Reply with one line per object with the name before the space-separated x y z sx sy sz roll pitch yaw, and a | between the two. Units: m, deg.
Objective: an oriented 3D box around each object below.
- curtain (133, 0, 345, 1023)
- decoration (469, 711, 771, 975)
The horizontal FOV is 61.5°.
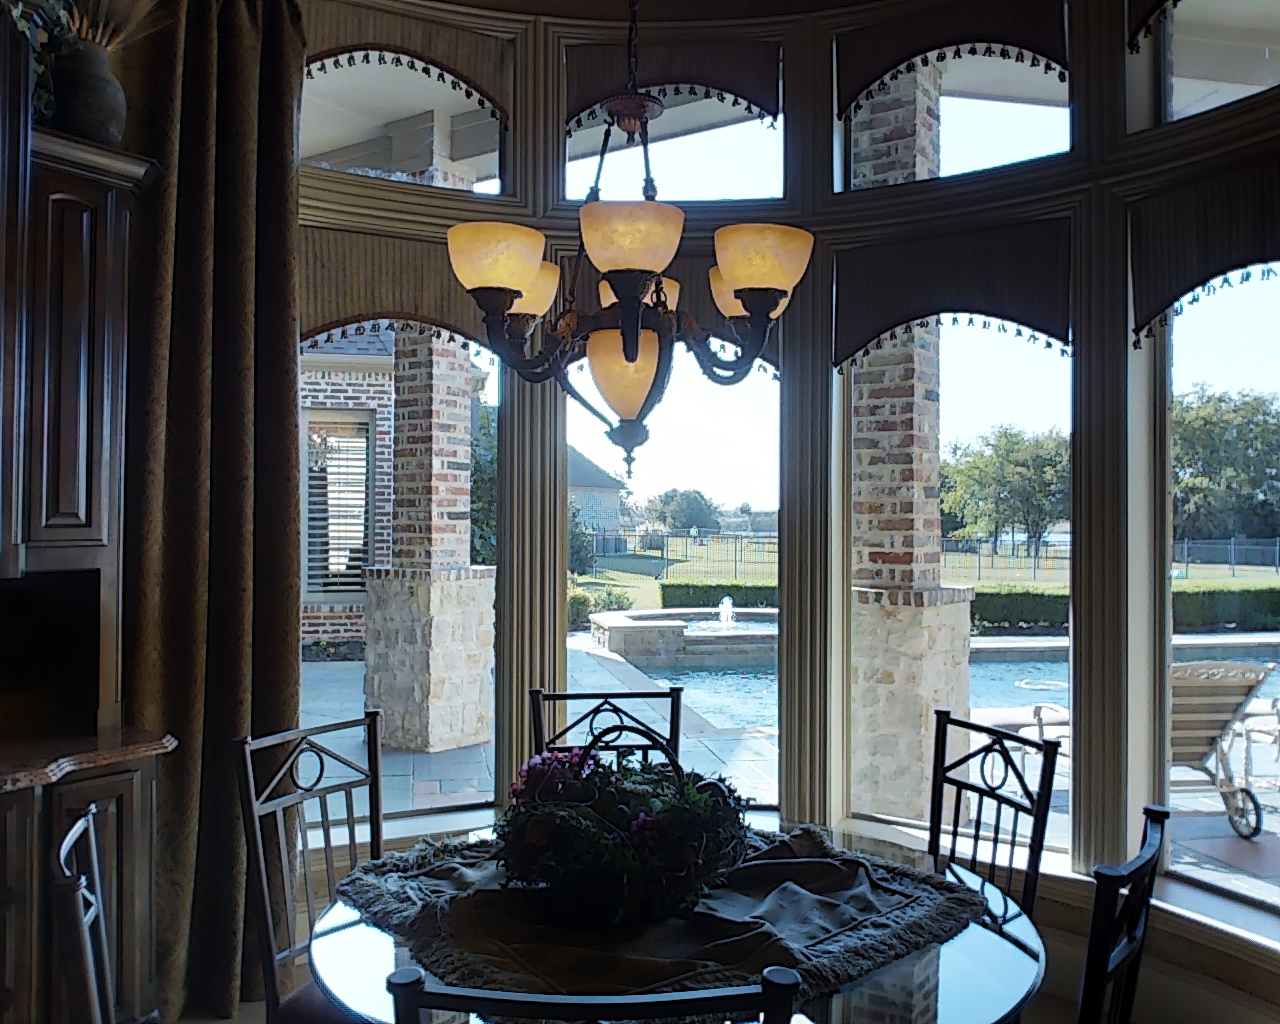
curtain | -1.240 -0.200 3.370 0.540 3.611 0.190 2 -1 -44
decoration | -0.010 0.620 2.140 0.490 0.340 0.530 0 -1 12
